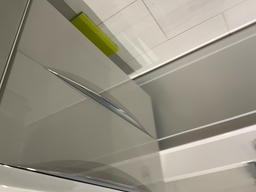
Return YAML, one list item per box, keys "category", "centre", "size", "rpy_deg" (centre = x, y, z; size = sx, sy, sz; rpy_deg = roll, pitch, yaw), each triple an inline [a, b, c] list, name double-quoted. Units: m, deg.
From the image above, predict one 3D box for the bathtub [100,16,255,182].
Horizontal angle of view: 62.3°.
- category: "bathtub"
  centre: [0.700, 0.040, 1.310]
  size: [1.670, 0.560, 0.690]
  rpy_deg: [-23, 142, 26]
